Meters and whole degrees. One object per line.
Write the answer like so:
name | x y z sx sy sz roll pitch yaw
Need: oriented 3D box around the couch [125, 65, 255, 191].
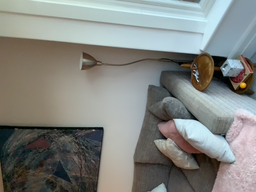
couch | 0.530 0.930 2.350 1.080 0.760 2.260 -115 30 -63

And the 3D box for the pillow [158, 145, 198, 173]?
pillow | 0.520 0.650 2.170 0.120 0.340 0.350 -65 -26 -13

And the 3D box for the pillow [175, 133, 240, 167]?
pillow | 0.580 0.400 1.640 0.410 0.400 0.110 39 -114 -74

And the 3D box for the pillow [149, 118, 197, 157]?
pillow | 0.440 0.410 2.080 0.360 0.340 0.110 36 -90 -41
